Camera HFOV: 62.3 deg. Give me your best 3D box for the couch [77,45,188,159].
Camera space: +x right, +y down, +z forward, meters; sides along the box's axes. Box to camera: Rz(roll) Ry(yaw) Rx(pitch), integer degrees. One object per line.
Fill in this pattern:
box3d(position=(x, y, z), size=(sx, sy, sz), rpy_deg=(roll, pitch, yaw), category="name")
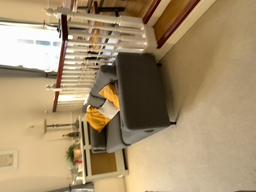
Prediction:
box3d(position=(-0.150, 0.250, 3.130), size=(1.910, 0.830, 0.970), rpy_deg=(134, 131, -58), category="couch")
